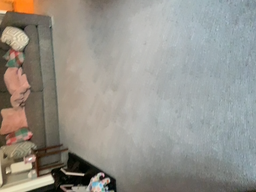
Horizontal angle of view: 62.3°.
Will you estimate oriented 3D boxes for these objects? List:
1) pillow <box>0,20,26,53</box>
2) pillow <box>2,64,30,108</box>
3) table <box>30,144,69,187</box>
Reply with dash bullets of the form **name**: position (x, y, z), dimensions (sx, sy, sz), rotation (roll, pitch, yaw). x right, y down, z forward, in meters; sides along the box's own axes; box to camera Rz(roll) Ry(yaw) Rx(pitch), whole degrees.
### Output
- **pillow**: position (-1.680, -0.850, 3.080), dimensions (0.340, 0.270, 0.350), rotation (-6, 90, 54)
- **pillow**: position (-1.760, -0.160, 3.310), dimensions (0.500, 0.280, 0.440), rotation (57, 136, 32)
- **table**: position (-1.140, 0.990, 3.090), dimensions (0.310, 0.430, 0.440), rotation (0, 95, 53)
